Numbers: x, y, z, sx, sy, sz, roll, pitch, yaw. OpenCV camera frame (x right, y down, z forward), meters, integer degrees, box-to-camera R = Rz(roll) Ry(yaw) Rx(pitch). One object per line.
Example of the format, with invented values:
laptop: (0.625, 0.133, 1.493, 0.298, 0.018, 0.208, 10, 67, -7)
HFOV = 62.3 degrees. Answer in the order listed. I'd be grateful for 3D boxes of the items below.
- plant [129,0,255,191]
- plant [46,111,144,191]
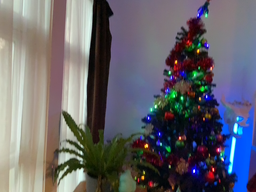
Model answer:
plant: (0.500, 0.430, 1.850, 0.900, 2.190, 0.960, 4, 3, 1)
plant: (-0.160, 0.370, 1.260, 0.470, 0.490, 0.410, 4, 3, 5)
